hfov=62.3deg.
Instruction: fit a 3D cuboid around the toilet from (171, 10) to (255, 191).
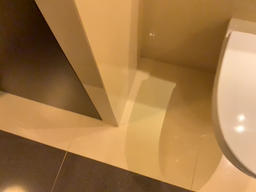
[{"bbox_3d":[0.450,0.060,0.850,0.370,0.450,0.530,15,70,7],"label":"toilet"}]
